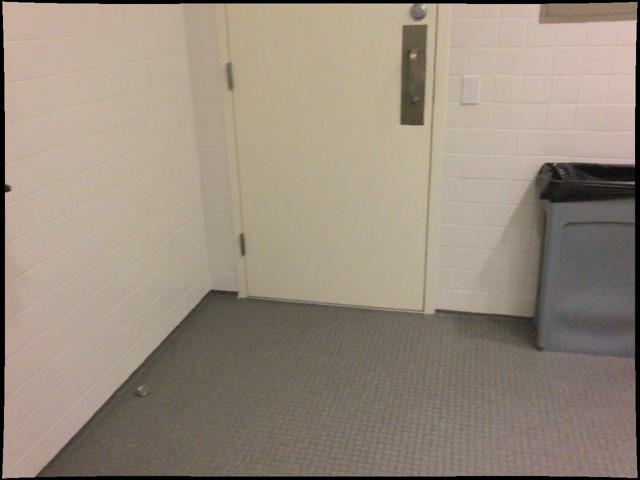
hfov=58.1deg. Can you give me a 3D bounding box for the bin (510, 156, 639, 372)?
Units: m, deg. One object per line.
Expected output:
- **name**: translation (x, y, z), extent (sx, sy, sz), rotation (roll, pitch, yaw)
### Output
- **bin**: translation (1.157, 0.100, 2.400), extent (0.579, 0.802, 0.300), rotation (6, 25, 13)
